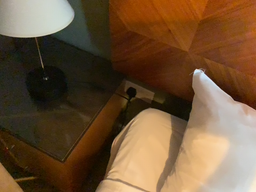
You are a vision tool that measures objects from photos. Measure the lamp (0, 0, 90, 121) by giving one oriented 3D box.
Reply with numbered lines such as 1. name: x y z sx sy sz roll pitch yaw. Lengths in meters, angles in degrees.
1. lamp: -0.330 -0.190 0.710 0.320 0.460 0.220 22 50 10
